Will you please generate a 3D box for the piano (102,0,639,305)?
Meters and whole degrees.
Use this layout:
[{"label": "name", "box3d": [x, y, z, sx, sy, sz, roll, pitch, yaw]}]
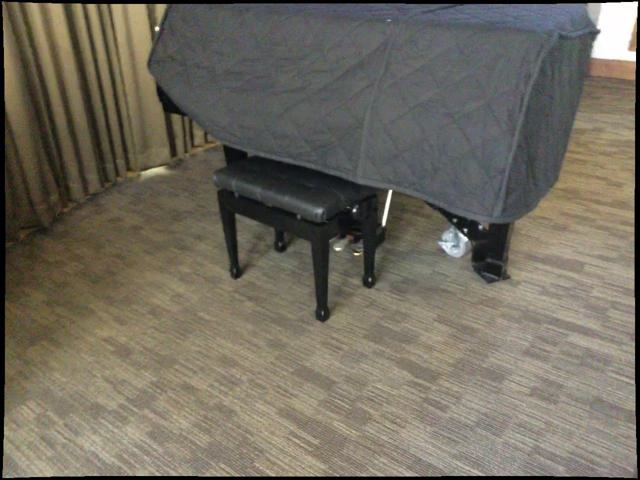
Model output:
[{"label": "piano", "box3d": [0.519, -0.831, 2.700, 1.679, 0.741, 2.239, 21, 38, 36]}]
